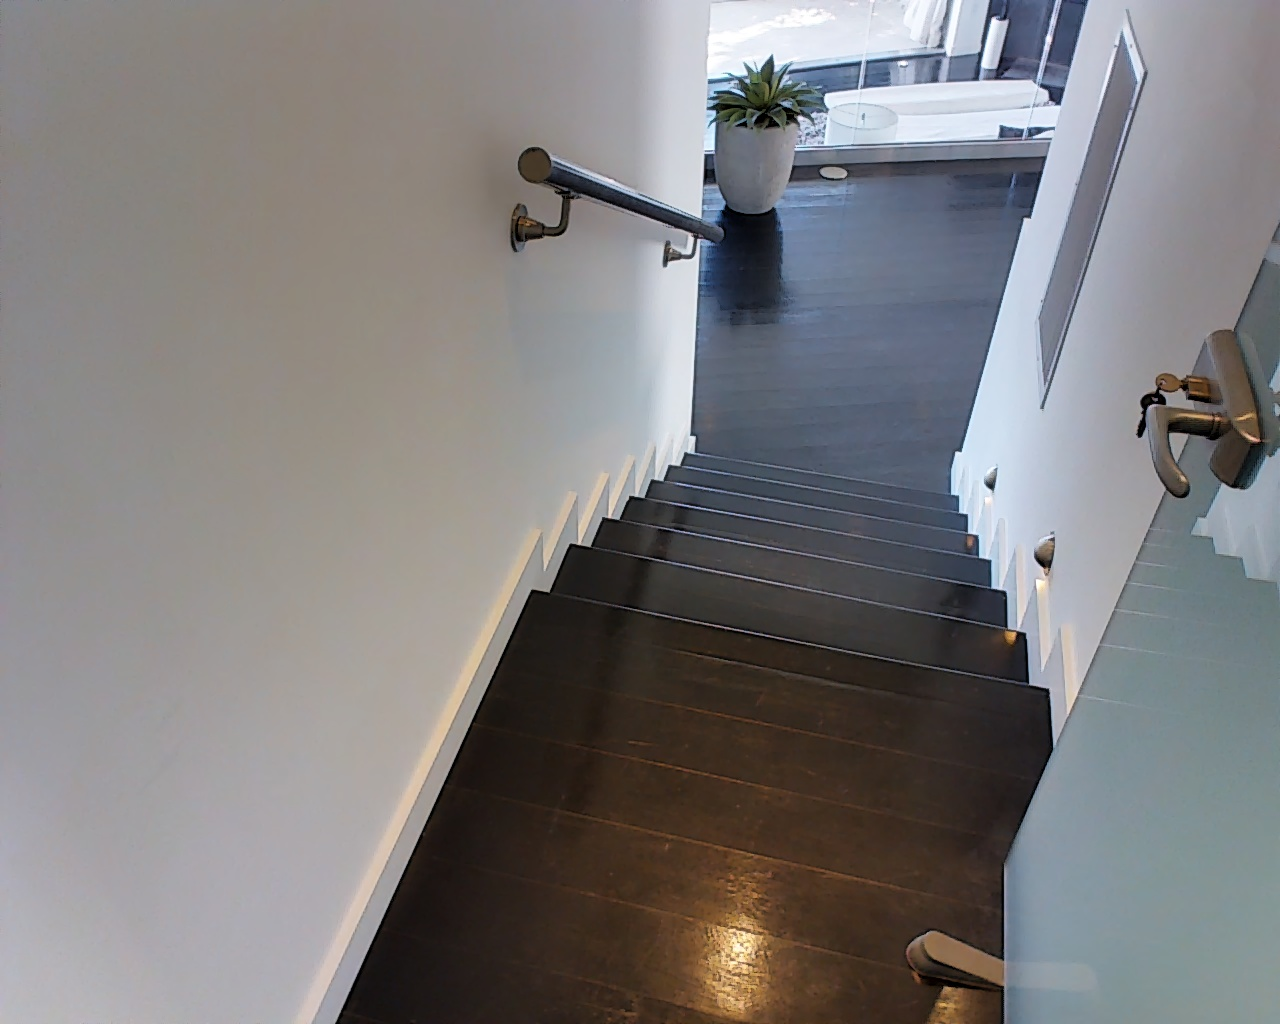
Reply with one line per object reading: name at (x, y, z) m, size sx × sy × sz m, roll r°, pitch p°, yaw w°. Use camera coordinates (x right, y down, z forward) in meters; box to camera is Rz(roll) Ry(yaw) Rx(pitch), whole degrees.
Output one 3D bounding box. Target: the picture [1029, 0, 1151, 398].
picture at (1.020, -0.730, 2.500) m, size 0.010 × 0.870 × 0.380 m, roll 10°, pitch 42°, yaw 10°
